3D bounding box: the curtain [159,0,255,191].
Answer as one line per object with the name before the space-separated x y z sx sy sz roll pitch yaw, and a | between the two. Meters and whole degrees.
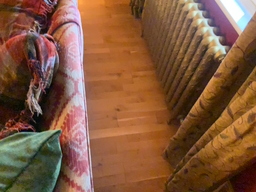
curtain | 0.540 -0.160 0.470 0.360 2.300 0.440 -3 56 -9
